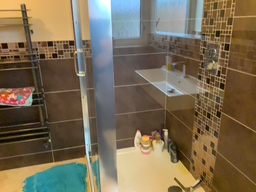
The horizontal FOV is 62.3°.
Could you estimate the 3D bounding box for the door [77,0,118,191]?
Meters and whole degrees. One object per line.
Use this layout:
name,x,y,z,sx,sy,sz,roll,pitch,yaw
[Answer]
door,-0.220,-0.130,1.270,0.080,2.000,1.270,-5,19,-12

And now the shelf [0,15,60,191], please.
shelf,-0.990,0.090,1.730,0.660,1.390,0.270,-6,20,-14
